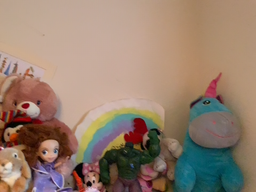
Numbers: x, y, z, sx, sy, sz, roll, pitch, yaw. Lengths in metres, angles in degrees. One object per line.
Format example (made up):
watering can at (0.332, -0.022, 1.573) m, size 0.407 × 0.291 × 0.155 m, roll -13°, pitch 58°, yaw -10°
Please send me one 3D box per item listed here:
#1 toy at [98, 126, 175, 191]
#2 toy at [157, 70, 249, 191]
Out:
toy at (0.040, 0.380, 1.070) m, size 0.330 × 0.390 × 0.190 m, roll -4°, pitch 3°, yaw -19°
toy at (0.370, 0.260, 1.100) m, size 0.290 × 0.750 × 0.340 m, roll -3°, pitch 3°, yaw -17°
